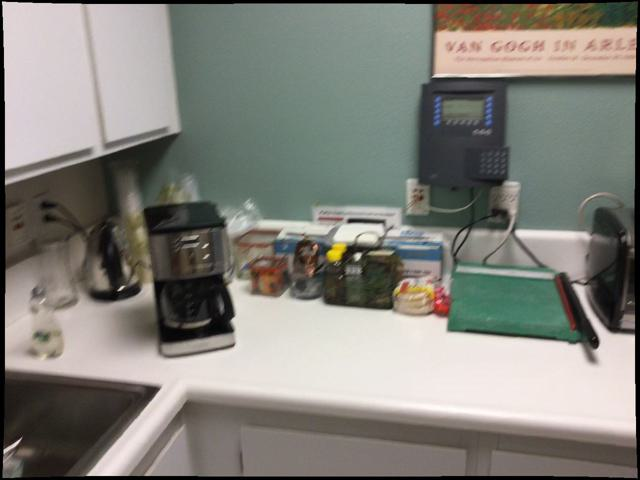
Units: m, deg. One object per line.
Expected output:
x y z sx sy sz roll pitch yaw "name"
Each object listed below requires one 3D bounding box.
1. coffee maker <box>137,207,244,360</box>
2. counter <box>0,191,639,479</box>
-0.300 0.100 1.380 0.170 0.330 0.140 2 20 12 "coffee maker"
0.220 0.450 0.630 2.568 0.330 2.600 2 20 12 "counter"
